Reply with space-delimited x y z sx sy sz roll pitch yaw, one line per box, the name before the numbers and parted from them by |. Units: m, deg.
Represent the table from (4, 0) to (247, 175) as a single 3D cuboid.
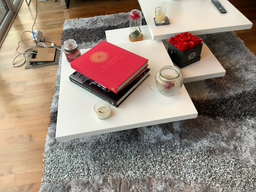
table | 0.110 -0.350 1.560 0.820 0.280 1.620 30 56 28
